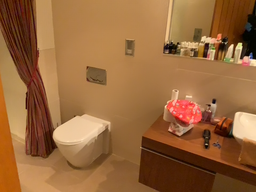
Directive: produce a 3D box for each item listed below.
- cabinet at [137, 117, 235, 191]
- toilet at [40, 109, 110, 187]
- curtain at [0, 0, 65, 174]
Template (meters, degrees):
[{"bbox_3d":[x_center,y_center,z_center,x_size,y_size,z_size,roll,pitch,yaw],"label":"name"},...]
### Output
[{"bbox_3d":[0.450,0.490,1.610,0.540,0.340,0.560,15,25,26],"label":"cabinet"},{"bbox_3d":[-0.500,0.480,2.140,0.380,0.440,0.580,14,24,24],"label":"toilet"},{"bbox_3d":[-0.920,-0.270,1.950,0.300,2.010,0.460,14,25,25],"label":"curtain"}]
